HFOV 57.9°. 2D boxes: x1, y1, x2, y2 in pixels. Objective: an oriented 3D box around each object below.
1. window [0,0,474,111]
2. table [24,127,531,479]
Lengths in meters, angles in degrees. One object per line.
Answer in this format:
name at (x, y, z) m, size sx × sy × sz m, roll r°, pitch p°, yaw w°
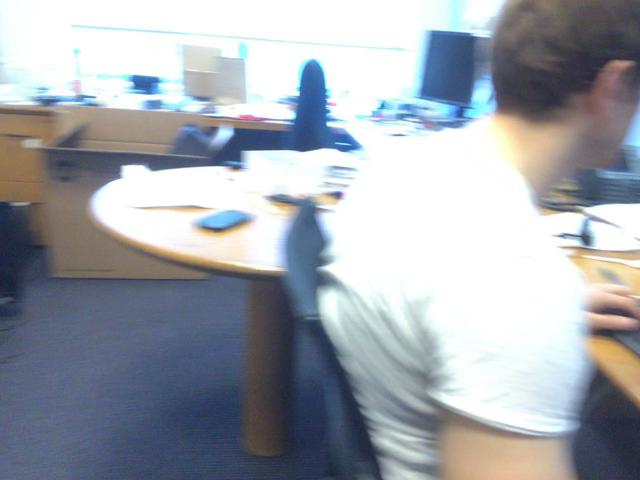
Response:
window at (-0.510, -1.300, 3.280) m, size 2.580 × 0.870 × 0.710 m, roll 2°, pitch 18°, yaw -8°
table at (-0.140, 0.190, 1.610) m, size 0.920 × 0.820 × 0.930 m, roll 2°, pitch 18°, yaw -8°
